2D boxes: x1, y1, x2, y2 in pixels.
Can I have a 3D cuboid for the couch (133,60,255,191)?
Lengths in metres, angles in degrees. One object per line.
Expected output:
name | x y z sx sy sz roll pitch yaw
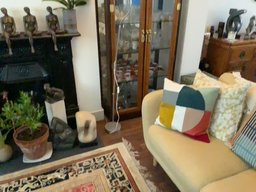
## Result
couch | 0.800 0.420 1.370 0.940 0.780 1.560 -11 29 -22

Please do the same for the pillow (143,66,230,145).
pillow | 0.410 0.080 1.570 0.470 0.380 0.200 29 48 9
